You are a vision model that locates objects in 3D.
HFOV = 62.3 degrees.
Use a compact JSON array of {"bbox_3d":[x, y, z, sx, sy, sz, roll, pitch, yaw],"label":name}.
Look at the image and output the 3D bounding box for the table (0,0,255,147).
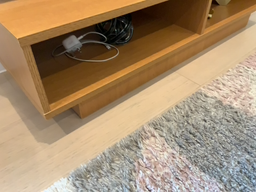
[{"bbox_3d":[0.120,-0.360,0.870,1.200,0.310,0.450,-31,51,-30],"label":"table"}]
